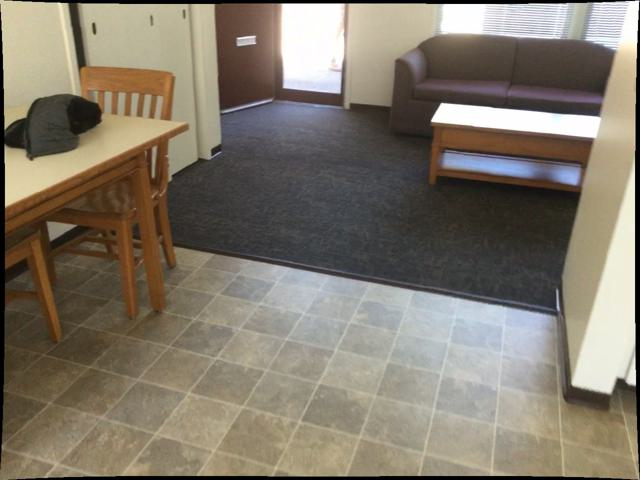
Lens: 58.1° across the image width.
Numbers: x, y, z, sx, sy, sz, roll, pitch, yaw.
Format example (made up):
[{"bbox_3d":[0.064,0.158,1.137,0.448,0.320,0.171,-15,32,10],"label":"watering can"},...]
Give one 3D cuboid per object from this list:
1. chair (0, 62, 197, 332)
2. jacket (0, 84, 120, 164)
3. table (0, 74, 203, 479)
[{"bbox_3d":[-0.938,-0.210,2.390,0.539,0.891,0.610,10,28,16],"label":"chair"},{"bbox_3d":[-0.958,-0.401,1.930,0.379,0.130,0.390,10,28,16],"label":"jacket"},{"bbox_3d":[-1.128,0.080,1.830,0.859,0.871,1.390,10,28,16],"label":"table"}]
